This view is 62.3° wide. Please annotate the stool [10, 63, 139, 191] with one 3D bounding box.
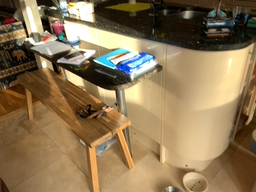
[{"bbox_3d":[-0.490,0.160,1.720,0.390,0.450,1.230,-27,39,-33],"label":"stool"}]
